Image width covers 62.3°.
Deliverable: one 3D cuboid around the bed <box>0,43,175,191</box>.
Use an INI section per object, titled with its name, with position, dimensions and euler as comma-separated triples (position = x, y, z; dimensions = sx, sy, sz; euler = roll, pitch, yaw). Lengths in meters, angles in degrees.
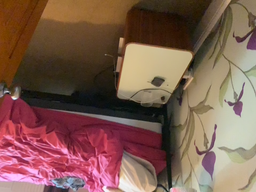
[bed]
position = -0.860, 0.380, 2.180
dimensions = 2.110, 0.740, 1.650
euler = 7, 146, -8
